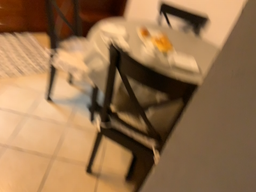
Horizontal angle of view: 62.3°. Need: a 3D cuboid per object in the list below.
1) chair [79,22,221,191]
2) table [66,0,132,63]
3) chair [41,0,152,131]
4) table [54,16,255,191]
[{"bbox_3d":[0.100,0.130,1.250,0.440,0.890,0.520,24,35,8],"label":"chair"},{"bbox_3d":[-0.330,-0.830,2.400,0.610,0.840,0.210,-17,48,-40],"label":"table"},{"bbox_3d":[-0.270,-0.300,1.670,0.530,0.880,0.530,25,35,8],"label":"chair"},{"bbox_3d":[0.240,-0.020,1.650,1.120,0.740,1.120,-17,48,-40],"label":"table"}]
